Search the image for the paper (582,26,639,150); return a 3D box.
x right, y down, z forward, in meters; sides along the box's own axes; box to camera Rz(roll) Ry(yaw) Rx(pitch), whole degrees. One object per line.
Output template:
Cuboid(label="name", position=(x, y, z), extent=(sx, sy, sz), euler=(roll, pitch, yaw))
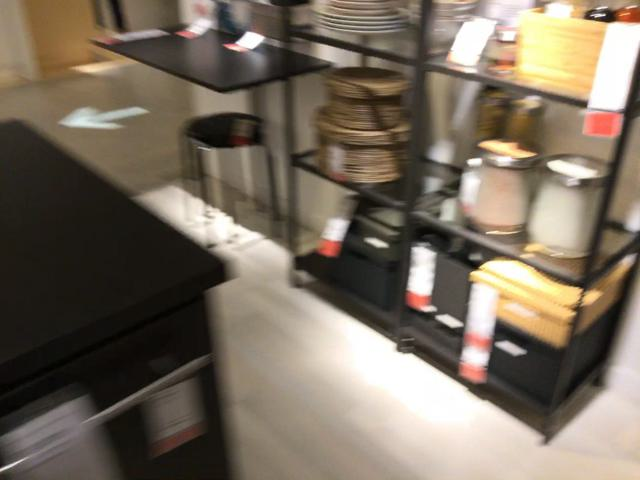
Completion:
Cuboid(label="paper", position=(0.590, -0.290, 1.100), extent=(0.090, 0.200, 0.100), euler=(-23, 37, -35))
